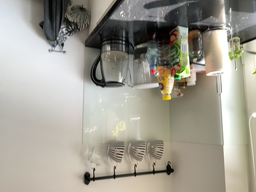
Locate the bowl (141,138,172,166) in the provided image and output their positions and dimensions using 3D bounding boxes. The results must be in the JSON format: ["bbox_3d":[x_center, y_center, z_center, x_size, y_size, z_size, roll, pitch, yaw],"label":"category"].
[{"bbox_3d":[0.170,0.330,1.270,0.150,0.150,0.100,4,171,-25],"label":"bowl"}]

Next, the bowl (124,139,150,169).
[{"bbox_3d":[0.050,0.330,1.230,0.100,0.150,0.130,3,171,-23],"label":"bowl"}]

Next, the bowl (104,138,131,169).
[{"bbox_3d":[-0.060,0.320,1.200,0.130,0.150,0.090,3,171,-23],"label":"bowl"}]
